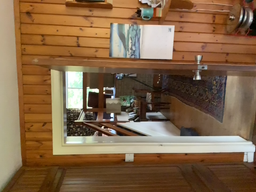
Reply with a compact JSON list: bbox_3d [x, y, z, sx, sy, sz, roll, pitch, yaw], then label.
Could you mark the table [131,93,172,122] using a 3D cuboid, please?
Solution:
[{"bbox_3d":[0.570,0.280,5.480,0.810,0.860,0.570,-122,34,-78],"label":"table"}]
